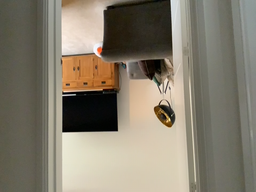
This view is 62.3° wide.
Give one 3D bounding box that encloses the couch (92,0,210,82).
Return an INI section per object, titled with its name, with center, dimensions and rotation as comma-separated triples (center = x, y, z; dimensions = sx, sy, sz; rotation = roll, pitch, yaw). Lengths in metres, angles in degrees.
[couch]
center = 0.350, -0.690, 2.870
dimensions = 1.120, 0.730, 1.670
rotation = -3, 176, 11
